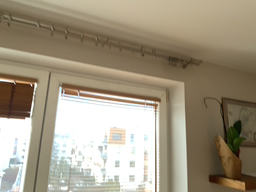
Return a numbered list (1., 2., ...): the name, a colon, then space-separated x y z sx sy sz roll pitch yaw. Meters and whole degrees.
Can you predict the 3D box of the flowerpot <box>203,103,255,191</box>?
1. flowerpot: 0.770 0.380 1.580 0.300 0.600 0.220 8 -16 -24
